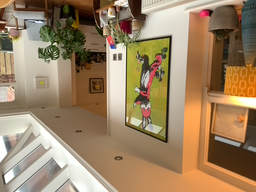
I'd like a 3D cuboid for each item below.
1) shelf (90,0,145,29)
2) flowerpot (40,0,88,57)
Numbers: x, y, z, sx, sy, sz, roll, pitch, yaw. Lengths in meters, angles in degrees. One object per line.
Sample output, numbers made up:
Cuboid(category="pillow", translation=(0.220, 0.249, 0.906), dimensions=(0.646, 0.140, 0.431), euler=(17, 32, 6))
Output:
Cuboid(category="shelf", translation=(-0.150, -1.230, 2.370), dimensions=(0.220, 0.810, 0.810), euler=(-6, -169, -36))
Cuboid(category="flowerpot", translation=(-1.360, -1.390, 4.530), dimensions=(0.740, 1.070, 0.650), euler=(-8, -168, -41))
